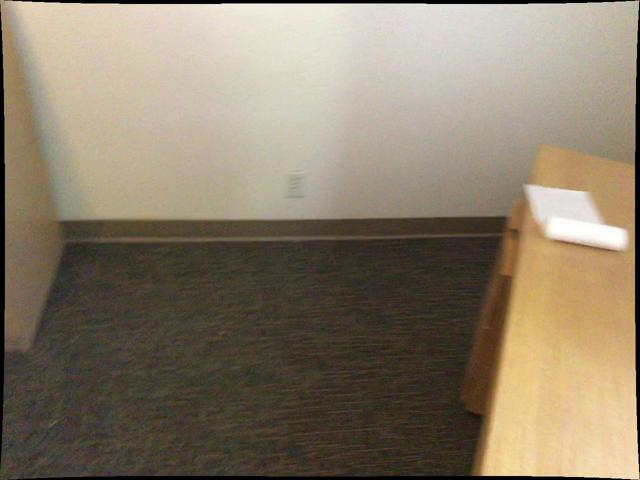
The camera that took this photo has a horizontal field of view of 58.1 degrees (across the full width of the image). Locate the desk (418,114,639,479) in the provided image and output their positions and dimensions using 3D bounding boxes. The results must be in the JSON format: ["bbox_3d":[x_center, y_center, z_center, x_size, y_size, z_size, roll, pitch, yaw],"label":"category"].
[{"bbox_3d":[0.669,0.371,1.420,0.659,0.801,1.240,16,38,12],"label":"desk"}]
